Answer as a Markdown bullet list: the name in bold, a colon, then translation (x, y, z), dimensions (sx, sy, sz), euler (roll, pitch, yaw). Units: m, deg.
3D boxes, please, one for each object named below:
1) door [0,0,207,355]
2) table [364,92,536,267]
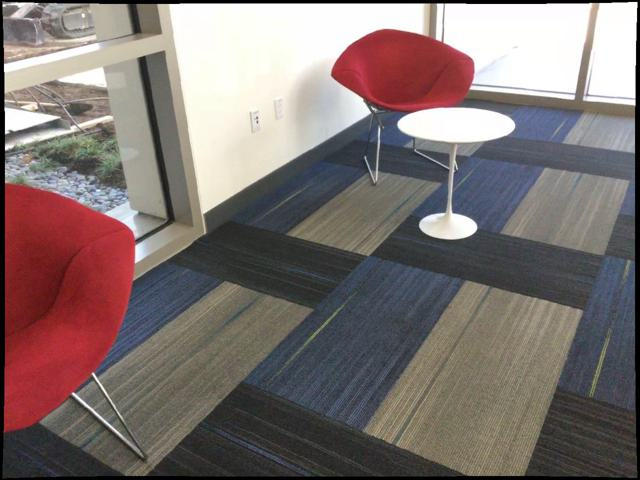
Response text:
- **door**: translation (-0.938, -0.872, 1.890), dimensions (0.100, 2.455, 1.000), euler (16, 35, 30)
- **table**: translation (0.598, -0.311, 2.680), dimensions (0.569, 0.541, 0.570), euler (16, 35, 30)
